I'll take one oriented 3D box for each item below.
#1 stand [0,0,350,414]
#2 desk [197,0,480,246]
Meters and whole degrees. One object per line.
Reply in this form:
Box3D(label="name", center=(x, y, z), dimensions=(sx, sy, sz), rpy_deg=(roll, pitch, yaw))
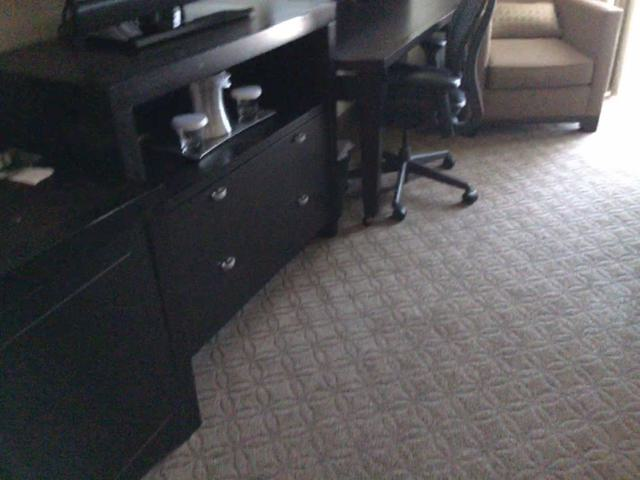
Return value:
Box3D(label="stand", center=(-0.400, -0.240, 2.000), dimensions=(0.490, 0.990, 1.190), rpy_deg=(12, 34, 27))
Box3D(label="desk", center=(0.210, -0.810, 2.880), dimensions=(0.750, 1.000, 1.410), rpy_deg=(12, 34, 27))
